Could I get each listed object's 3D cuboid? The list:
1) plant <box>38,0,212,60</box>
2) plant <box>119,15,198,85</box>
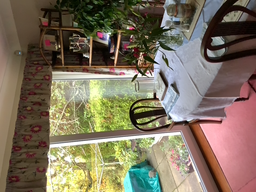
[{"bbox_3d":[-0.070,-0.990,2.610,0.850,1.840,0.630,103,158,-43],"label":"plant"},{"bbox_3d":[0.190,-0.360,1.620,0.470,0.400,0.320,-109,23,-46],"label":"plant"}]
